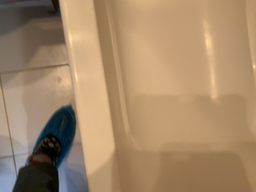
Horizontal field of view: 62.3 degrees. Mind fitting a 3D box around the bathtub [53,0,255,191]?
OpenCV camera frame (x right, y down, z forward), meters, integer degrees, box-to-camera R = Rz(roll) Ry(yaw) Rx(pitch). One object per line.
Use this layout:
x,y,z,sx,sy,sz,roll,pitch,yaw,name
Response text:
0.150,-0.280,0.670,0.680,0.570,1.380,-8,93,-11,bathtub
